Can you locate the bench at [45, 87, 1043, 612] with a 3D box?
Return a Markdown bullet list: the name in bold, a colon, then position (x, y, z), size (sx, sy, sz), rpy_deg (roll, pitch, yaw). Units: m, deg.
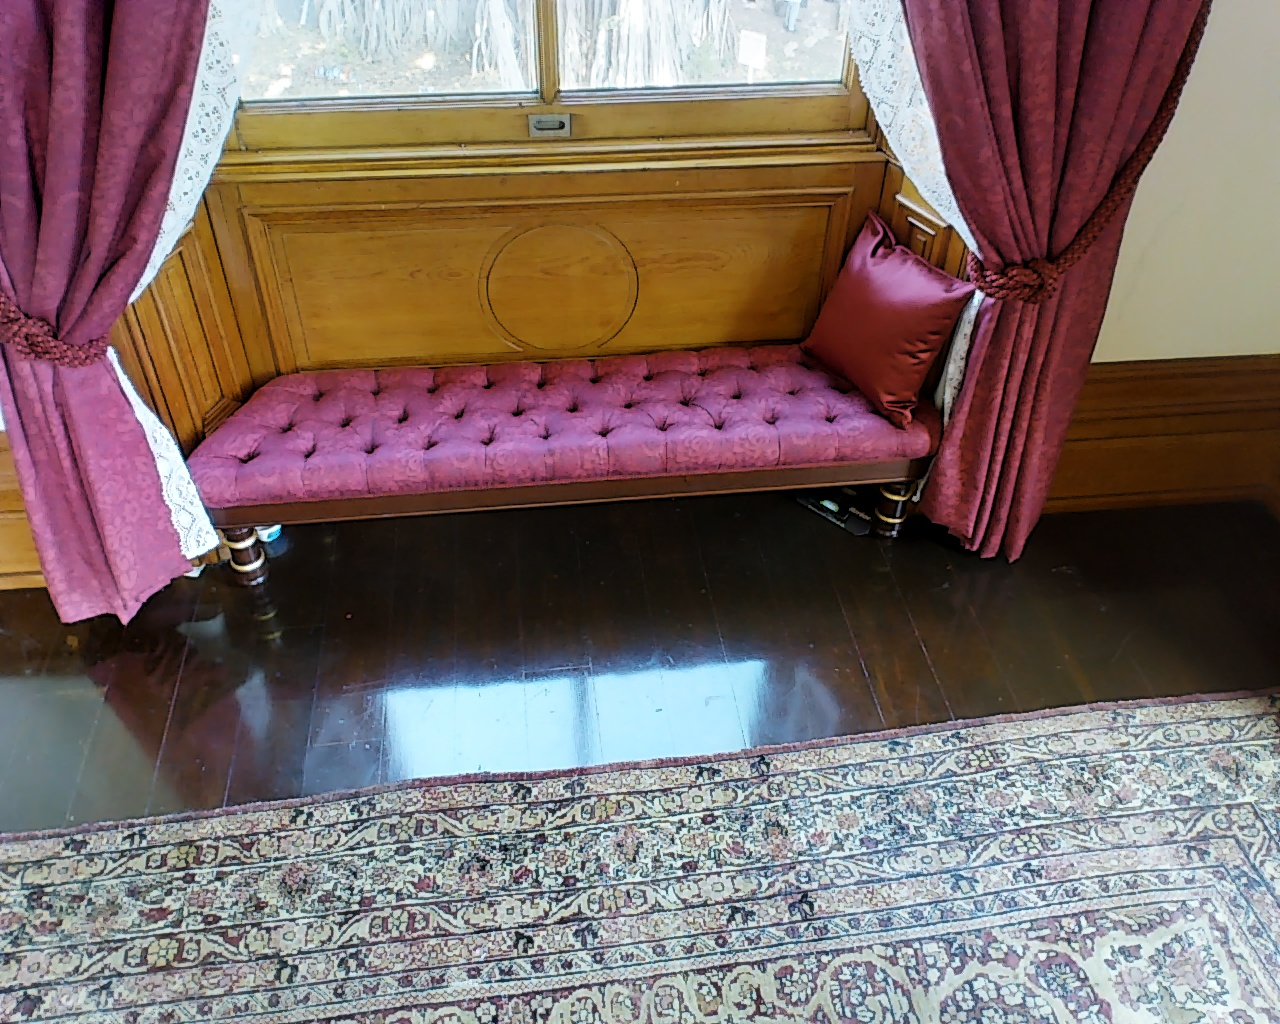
- **bench**: position (-0.150, -0.320, 2.120), size (1.530, 0.780, 0.560), rpy_deg (-3, 43, -4)
